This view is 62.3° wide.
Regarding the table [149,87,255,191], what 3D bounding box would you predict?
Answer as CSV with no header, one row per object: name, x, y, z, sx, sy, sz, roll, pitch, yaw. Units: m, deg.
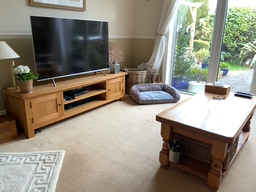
table,0.810,0.320,2.050,0.600,0.480,1.270,14,21,35
